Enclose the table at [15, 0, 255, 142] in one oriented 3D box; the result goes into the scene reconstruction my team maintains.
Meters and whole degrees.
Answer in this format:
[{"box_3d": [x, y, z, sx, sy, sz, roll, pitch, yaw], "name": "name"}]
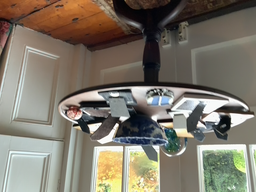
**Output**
[{"box_3d": [0.100, -0.120, 1.020, 1.160, 0.600, 0.490, -8, 160, 28], "name": "table"}]
